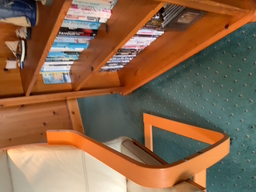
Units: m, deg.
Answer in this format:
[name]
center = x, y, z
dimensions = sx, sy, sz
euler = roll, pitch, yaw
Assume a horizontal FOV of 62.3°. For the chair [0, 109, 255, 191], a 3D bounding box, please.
[chair]
center = -0.100, 0.530, 0.890
dimensions = 0.850, 0.970, 0.710
euler = 7, 103, 54
